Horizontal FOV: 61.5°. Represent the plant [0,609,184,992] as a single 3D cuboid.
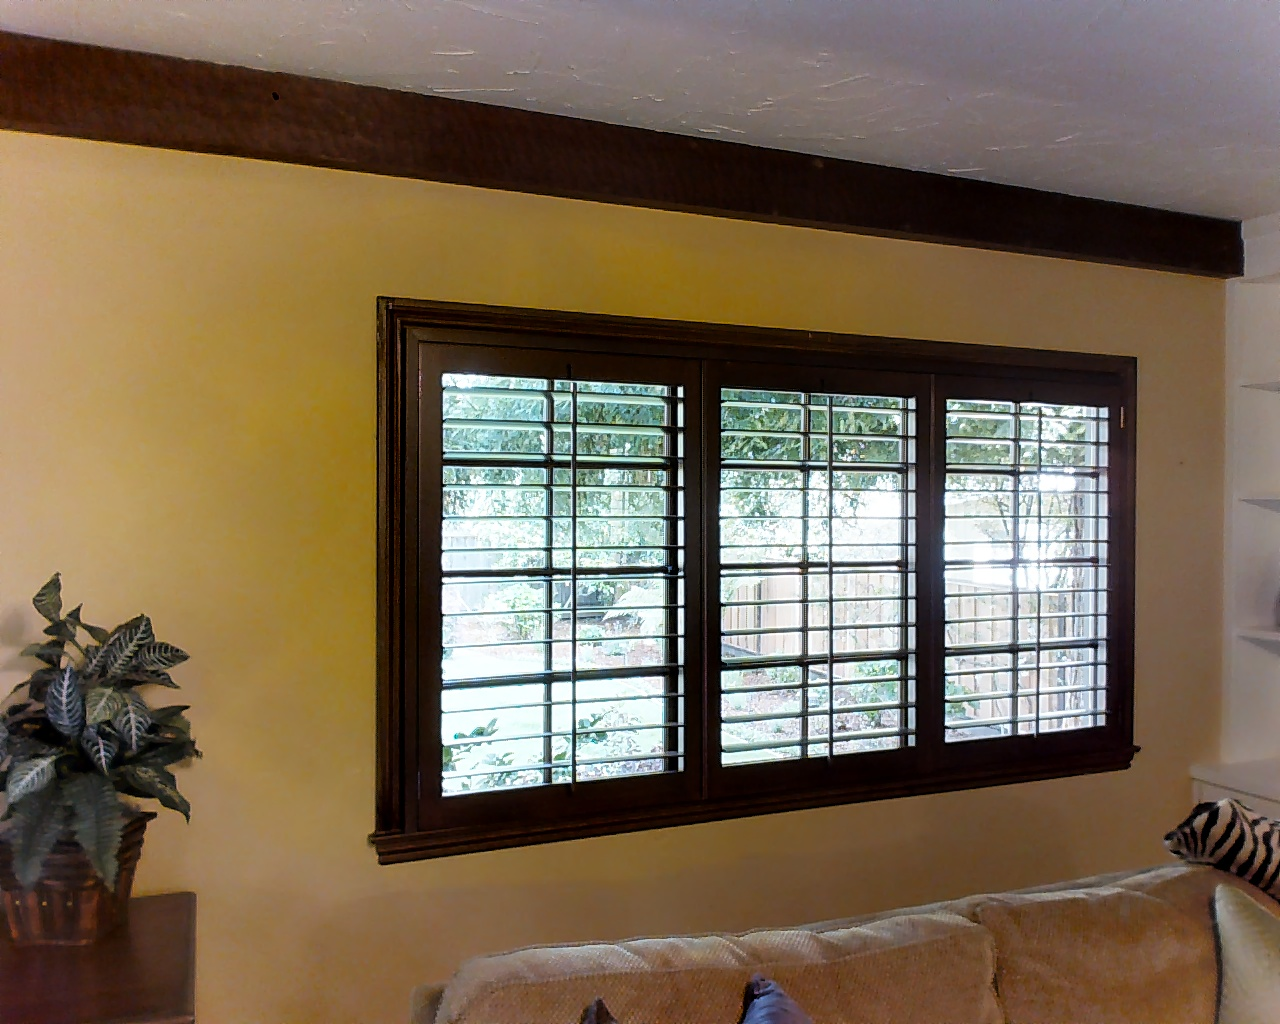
[{"bbox_3d":[-1.100,0.500,2.030,0.440,0.570,0.530,0,0,-23],"label":"plant"}]
